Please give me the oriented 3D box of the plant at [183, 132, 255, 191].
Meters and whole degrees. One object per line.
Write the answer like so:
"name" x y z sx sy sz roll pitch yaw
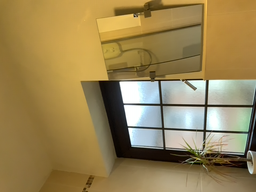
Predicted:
"plant" 0.660 0.450 1.450 0.200 0.540 0.320 -65 -29 -55
